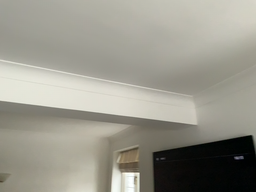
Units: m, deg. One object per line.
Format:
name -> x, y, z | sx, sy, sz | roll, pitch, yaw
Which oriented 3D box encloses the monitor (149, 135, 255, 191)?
monitor -> 0.520, 0.810, 1.790 | 0.050, 0.760, 1.290 | 9, -22, -22
